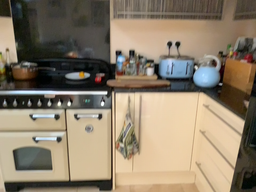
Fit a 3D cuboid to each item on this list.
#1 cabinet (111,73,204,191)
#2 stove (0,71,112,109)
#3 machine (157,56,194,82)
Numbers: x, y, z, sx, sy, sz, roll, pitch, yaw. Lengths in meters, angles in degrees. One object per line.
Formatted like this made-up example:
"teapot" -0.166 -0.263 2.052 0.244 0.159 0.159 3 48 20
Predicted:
"cabinet" 0.190 0.290 2.020 0.690 0.900 0.660 0 18 -6
"stove" -0.600 -0.080 1.820 0.910 0.140 0.670 0 18 -6
"machine" 0.430 -0.260 1.970 0.260 0.190 0.270 0 18 -4
